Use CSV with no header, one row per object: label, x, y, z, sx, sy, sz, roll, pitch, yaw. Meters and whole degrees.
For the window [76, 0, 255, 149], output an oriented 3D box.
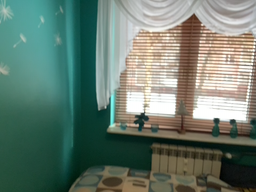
window,0.550,-0.480,1.970,2.020,1.840,0.270,3,10,7
